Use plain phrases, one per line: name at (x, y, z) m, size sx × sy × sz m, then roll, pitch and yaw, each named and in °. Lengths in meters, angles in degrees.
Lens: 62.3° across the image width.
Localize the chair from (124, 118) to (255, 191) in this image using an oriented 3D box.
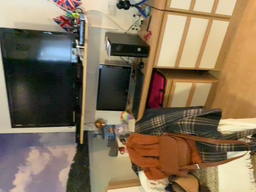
chair at (0.470, 0.480, 1.520) m, size 0.590 × 0.870 × 0.590 m, roll 146°, pitch 124°, yaw -72°

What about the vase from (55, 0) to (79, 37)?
vase at (-0.540, -0.710, 1.880) m, size 0.180 × 0.190 × 0.290 m, roll -108°, pitch 24°, yaw -51°

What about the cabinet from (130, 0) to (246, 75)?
cabinet at (0.520, -0.960, 1.720) m, size 0.550 × 0.690 × 1.450 m, roll -114°, pitch 29°, yaw -58°
